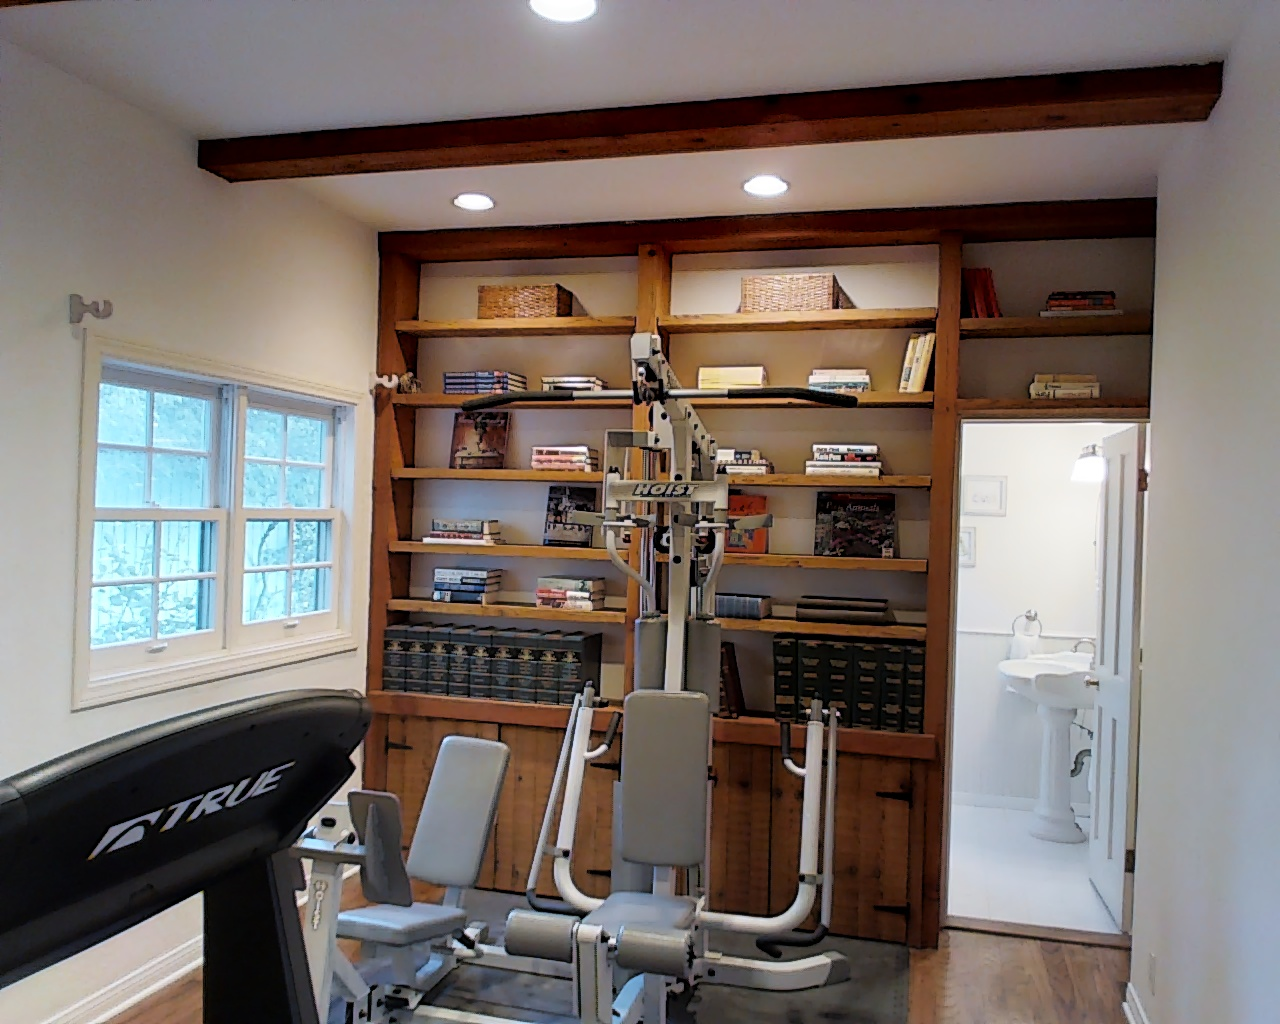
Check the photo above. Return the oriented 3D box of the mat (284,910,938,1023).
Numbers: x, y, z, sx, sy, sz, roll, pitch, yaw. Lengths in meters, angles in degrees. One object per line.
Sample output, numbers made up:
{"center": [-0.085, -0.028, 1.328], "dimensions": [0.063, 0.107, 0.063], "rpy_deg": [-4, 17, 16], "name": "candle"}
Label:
{"center": [-0.190, 1.590, 2.910], "dimensions": [1.890, 0.030, 2.130], "rpy_deg": [2, 0, 17], "name": "mat"}
